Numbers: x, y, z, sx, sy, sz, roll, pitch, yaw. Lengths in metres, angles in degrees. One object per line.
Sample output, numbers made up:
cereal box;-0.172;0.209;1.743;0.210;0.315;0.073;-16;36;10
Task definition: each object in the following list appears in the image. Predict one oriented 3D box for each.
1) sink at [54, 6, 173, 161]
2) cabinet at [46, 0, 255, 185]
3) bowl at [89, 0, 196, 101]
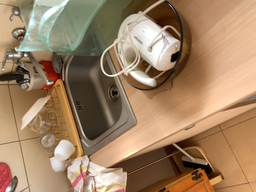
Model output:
sink;-0.110;-0.040;0.950;0.400;0.200;0.510;-42;63;43
cabinet;0.150;-0.050;1.150;0.670;0.850;0.640;-41;64;43
bowl;0.020;-0.140;0.570;0.210;0.110;0.220;-45;61;42
